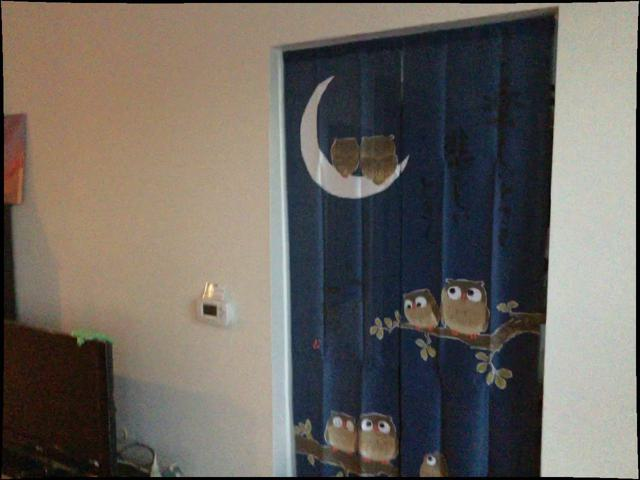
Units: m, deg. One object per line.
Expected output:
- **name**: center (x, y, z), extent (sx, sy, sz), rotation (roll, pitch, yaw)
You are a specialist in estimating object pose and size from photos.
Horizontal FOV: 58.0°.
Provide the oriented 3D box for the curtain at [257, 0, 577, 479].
- **curtain**: center (0.229, 0.211, 1.740), extent (0.888, 1.664, 0.130), rotation (5, 11, 29)
